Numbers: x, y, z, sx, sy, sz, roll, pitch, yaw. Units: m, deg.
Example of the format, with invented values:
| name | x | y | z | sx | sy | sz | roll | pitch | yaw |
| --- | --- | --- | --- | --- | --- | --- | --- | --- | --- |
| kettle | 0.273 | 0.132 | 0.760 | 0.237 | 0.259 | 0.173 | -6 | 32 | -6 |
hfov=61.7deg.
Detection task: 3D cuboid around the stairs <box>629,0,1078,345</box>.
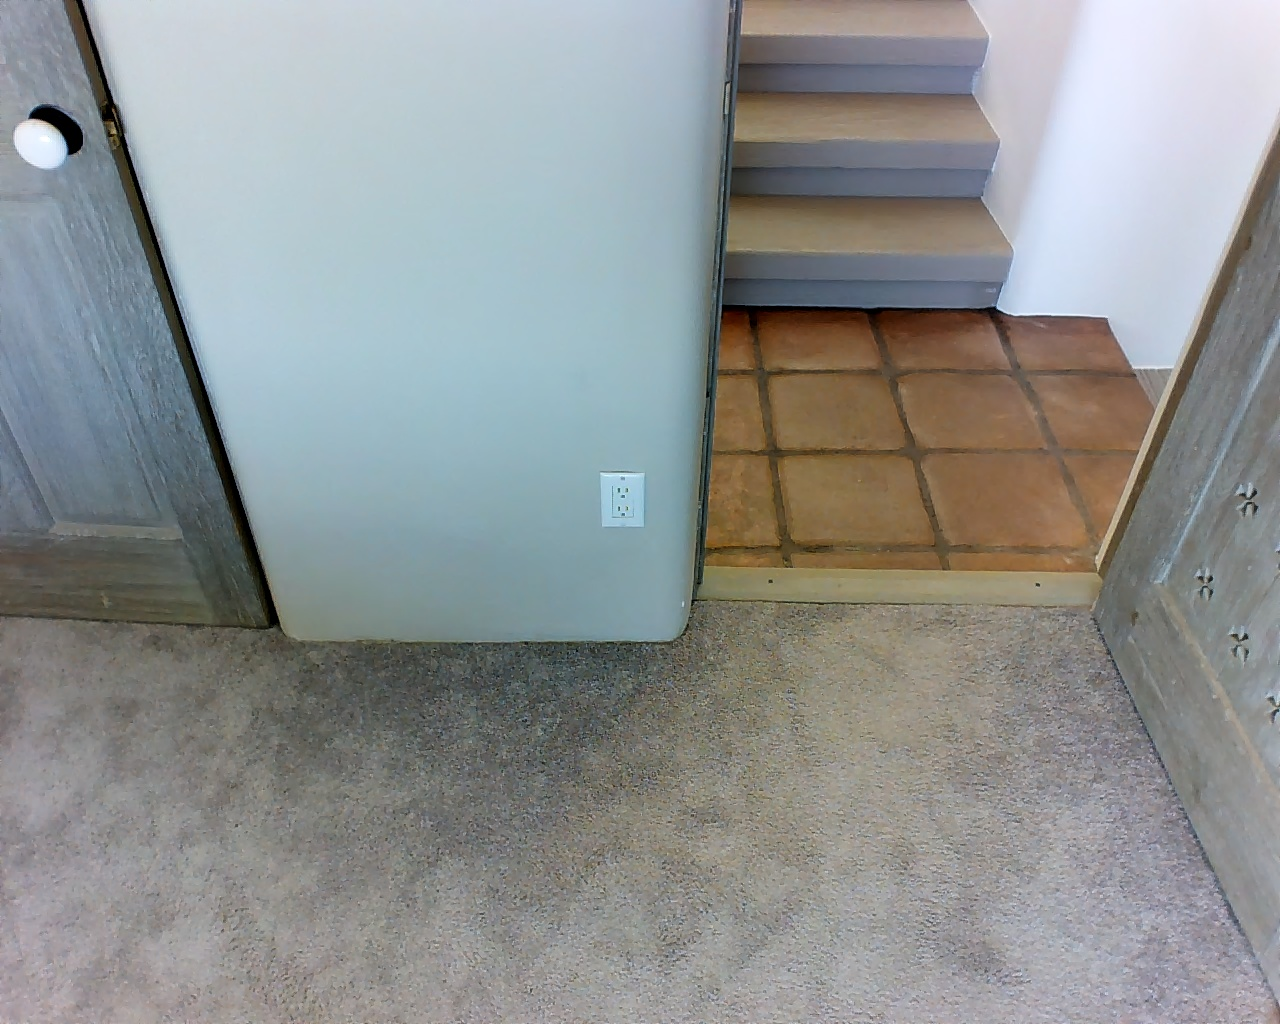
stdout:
| name | x | y | z | sx | sy | sz | roll | pitch | yaw |
| --- | --- | --- | --- | --- | --- | --- | --- | --- | --- |
| stairs | 0.490 | -1.080 | 2.870 | 0.940 | 0.370 | 1.220 | -17 | 40 | 16 |
